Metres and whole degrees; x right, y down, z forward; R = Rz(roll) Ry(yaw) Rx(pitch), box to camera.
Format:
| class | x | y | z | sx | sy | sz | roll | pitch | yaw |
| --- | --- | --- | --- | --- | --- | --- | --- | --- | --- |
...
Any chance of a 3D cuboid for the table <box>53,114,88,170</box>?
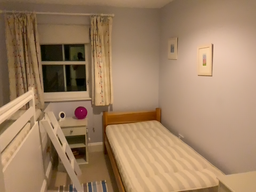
| class | x | y | z | sx | sy | sz | roll | pitch | yaw |
| --- | --- | --- | --- | --- | --- | --- | --- | --- | --- |
| table | -0.860 | 0.670 | 3.240 | 0.450 | 0.670 | 0.470 | -3 | 11 | -13 |
